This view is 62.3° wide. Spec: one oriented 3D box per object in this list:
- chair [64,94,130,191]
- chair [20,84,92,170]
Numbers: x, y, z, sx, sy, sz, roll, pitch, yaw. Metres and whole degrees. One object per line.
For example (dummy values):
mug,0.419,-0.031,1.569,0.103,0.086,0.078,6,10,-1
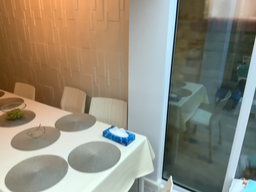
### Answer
chair,-0.290,0.470,2.290,0.460,0.780,0.570,7,22,15
chair,-0.840,0.340,2.600,0.490,0.780,0.570,13,25,30
